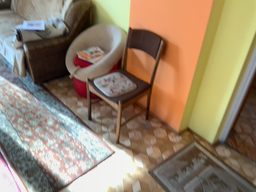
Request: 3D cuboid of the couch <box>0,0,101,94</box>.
[{"bbox_3d":[-1.490,-1.120,3.140,1.030,0.940,2.310,-24,43,-33],"label":"couch"}]
